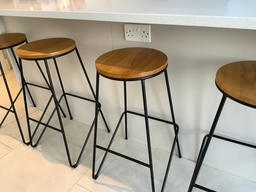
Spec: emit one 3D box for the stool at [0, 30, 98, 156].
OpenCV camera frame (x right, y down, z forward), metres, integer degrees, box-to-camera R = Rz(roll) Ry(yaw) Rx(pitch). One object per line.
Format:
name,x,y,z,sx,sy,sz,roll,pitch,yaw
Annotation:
stool,-0.470,-0.020,1.390,0.340,0.710,0.310,14,36,27
